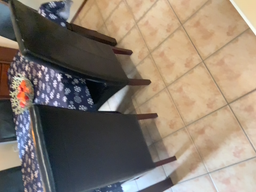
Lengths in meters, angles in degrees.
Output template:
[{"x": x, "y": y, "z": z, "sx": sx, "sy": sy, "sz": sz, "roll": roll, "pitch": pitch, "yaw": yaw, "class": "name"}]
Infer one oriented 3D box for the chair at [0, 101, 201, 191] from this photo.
[{"x": -0.160, "y": 0.390, "z": 1.420, "sx": 0.680, "sy": 1.210, "sz": 0.420, "roll": -38, "pitch": 64, "yaw": 35, "class": "chair"}]
